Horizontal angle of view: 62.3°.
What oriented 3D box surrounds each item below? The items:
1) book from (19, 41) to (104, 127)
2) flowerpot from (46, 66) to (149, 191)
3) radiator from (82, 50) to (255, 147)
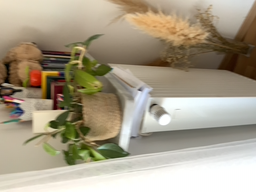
[{"bbox_3d":[-0.340,-0.090,1.010,0.520,0.290,0.220,-134,49,-57],"label":"book"},{"bbox_3d":[-0.130,0.070,0.670,0.340,0.220,0.220,-131,46,-56],"label":"flowerpot"},{"bbox_3d":[0.350,-0.040,1.180,0.610,1.080,0.200,-132,47,-56],"label":"radiator"}]
